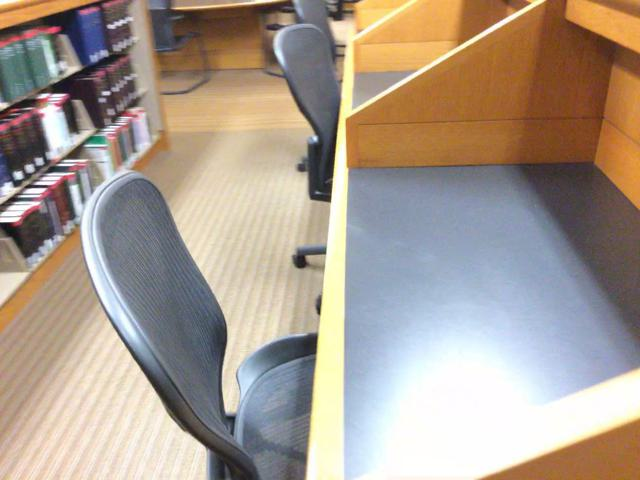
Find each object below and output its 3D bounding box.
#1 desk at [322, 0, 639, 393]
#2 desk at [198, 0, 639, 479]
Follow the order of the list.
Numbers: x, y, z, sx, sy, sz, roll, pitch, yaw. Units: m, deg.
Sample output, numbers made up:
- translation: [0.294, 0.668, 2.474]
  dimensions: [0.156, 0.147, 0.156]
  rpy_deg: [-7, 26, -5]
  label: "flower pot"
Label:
- translation: [0.470, -0.400, 2.150]
  dimensions: [0.830, 1.230, 1.380]
  rpy_deg: [2, 29, 4]
  label: "desk"
- translation: [0.370, 0.200, 1.100]
  dimensions: [0.770, 1.220, 1.240]
  rpy_deg: [2, 29, 4]
  label: "desk"
